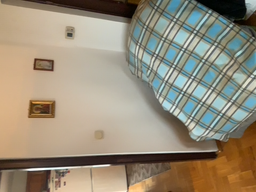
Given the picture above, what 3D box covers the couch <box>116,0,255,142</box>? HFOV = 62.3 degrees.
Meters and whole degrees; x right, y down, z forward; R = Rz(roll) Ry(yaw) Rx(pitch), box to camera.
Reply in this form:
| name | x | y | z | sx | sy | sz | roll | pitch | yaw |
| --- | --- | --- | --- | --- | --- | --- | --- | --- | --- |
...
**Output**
| name | x | y | z | sx | sy | sz | roll | pitch | yaw |
| --- | --- | --- | --- | --- | --- | --- | --- | --- | --- |
| couch | 0.550 | -0.250 | 1.720 | 0.890 | 1.010 | 0.900 | 115 | 151 | -48 |
